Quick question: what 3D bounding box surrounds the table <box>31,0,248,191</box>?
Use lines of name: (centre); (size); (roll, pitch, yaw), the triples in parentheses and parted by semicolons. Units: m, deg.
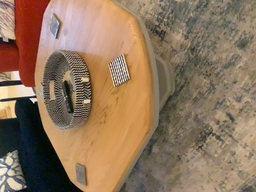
table: (-0.120, -0.040, 1.250); (0.990, 0.440, 0.980); (45, 127, 33)
